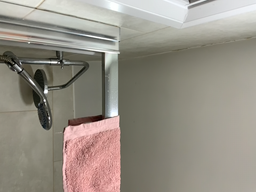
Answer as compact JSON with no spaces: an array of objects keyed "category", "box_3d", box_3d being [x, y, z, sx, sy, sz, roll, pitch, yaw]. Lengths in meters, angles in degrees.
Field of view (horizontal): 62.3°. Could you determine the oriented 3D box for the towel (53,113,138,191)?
[{"category":"towel","box_3d":[-0.080,0.230,0.550,0.100,0.190,0.350,4,-86,50]}]
